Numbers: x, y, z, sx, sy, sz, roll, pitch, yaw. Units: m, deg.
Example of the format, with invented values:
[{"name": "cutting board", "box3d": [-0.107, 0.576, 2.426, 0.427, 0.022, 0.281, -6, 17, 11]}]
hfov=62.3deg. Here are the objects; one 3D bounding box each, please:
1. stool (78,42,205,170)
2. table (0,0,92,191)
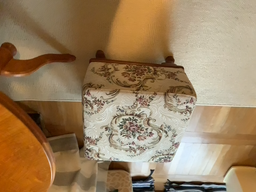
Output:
[{"name": "stool", "box3d": [0.020, 0.050, 0.960, 0.420, 0.350, 0.420, 5, 128, -5]}, {"name": "table", "box3d": [-0.470, -0.050, 0.690, 0.600, 0.630, 0.600, 2, 128, -3]}]
